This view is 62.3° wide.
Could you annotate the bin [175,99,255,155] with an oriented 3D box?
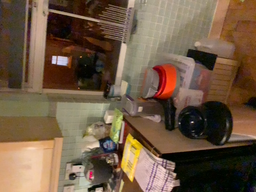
[{"bbox_3d":[0.660,0.190,1.420,0.270,0.590,0.240,37,120,57],"label":"bin"}]
